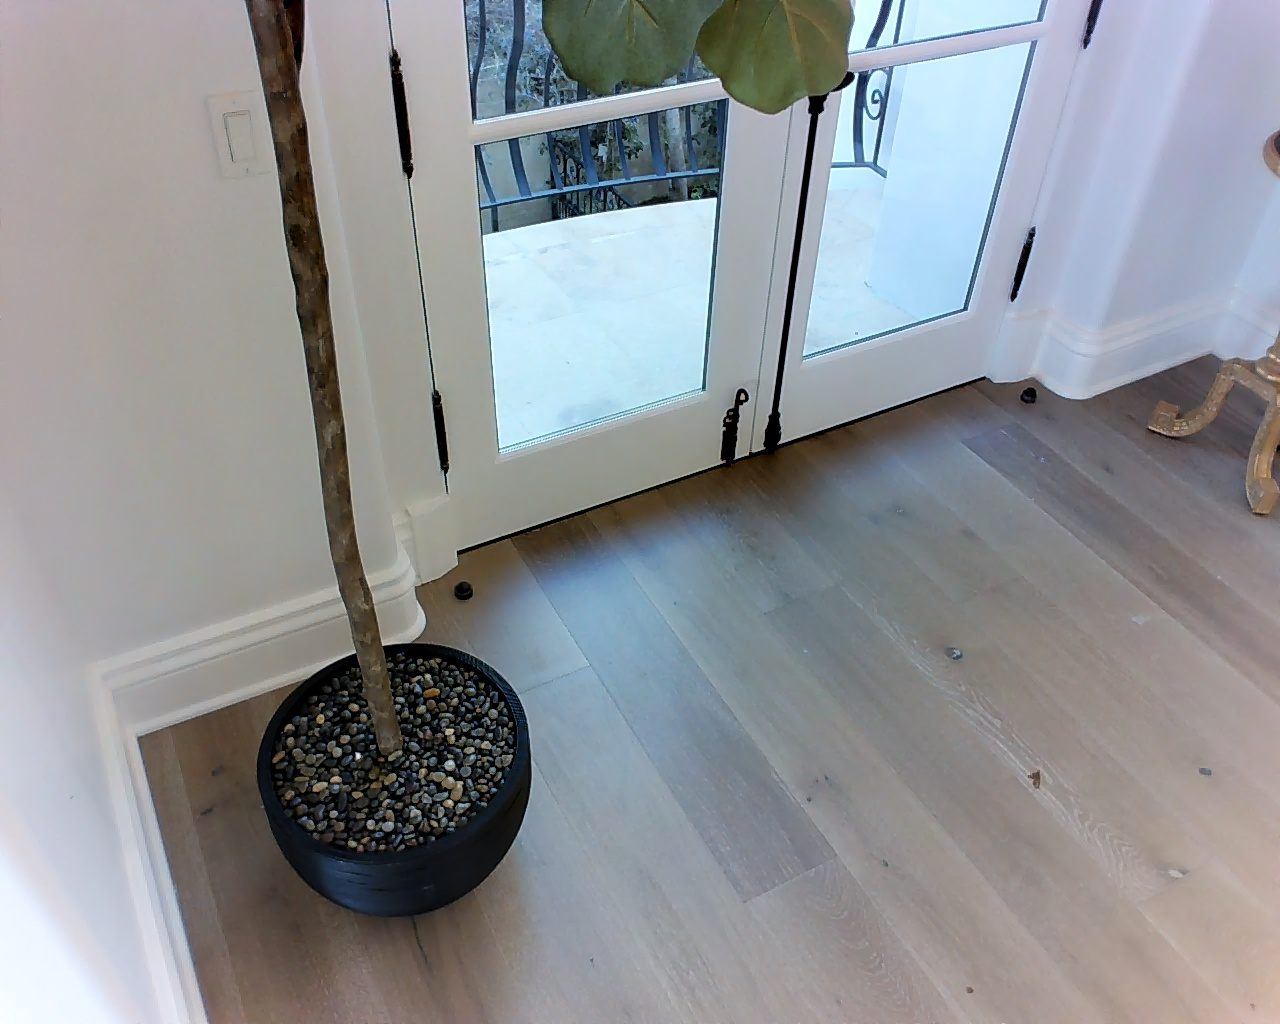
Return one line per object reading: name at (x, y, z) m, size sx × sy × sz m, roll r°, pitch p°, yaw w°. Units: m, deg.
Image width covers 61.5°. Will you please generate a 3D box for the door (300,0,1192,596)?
door at (0.340, -1.100, 1.780) m, size 1.830 × 2.590 × 0.120 m, roll -18°, pitch 45°, yaw -21°
